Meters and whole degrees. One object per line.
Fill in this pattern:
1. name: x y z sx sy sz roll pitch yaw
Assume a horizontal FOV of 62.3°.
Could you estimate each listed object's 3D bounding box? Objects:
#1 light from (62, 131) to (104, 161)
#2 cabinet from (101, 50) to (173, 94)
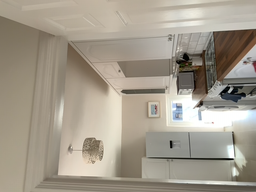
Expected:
1. light: -0.500 0.540 2.360 0.320 0.330 0.260 6 -98 -49
2. cabinet: 0.200 -0.330 3.480 1.140 0.990 0.340 54 -144 -75
